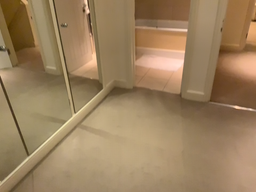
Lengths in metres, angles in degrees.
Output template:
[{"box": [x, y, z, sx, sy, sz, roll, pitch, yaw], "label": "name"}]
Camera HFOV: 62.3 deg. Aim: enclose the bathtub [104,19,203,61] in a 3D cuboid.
[{"box": [0.510, -1.190, 4.320, 1.800, 0.490, 0.750, 12, 34, 21], "label": "bathtub"}]
